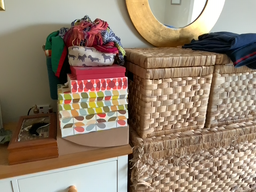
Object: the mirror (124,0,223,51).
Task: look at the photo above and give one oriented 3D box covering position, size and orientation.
[{"bbox_3d":[0.280,-0.630,1.240,0.600,0.690,0.110,-5,19,-16],"label":"mirror"}]
